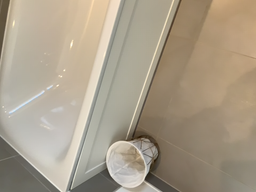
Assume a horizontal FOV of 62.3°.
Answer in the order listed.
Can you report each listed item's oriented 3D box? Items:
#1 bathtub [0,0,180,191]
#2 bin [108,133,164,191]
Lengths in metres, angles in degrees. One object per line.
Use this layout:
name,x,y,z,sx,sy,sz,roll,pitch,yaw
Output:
bathtub,-0.180,-0.470,1.130,0.680,0.540,1.640,25,105,27
bin,0.050,0.370,1.240,0.190,0.220,0.200,27,106,26
